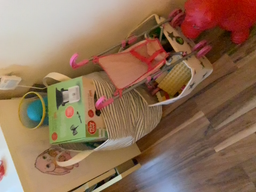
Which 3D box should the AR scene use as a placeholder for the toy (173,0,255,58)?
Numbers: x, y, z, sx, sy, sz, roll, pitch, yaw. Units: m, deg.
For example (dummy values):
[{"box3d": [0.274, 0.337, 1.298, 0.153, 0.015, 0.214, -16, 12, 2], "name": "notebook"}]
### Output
[{"box3d": [0.480, -0.430, 0.840, 0.470, 0.410, 0.280, -35, 73, 29], "name": "toy"}]
